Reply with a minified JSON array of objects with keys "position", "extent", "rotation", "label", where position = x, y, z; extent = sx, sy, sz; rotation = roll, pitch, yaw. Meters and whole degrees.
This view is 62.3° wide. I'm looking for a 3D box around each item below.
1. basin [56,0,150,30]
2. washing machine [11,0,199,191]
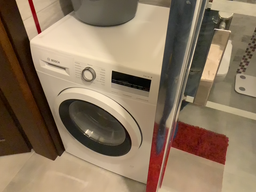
[{"position":[-0.100,-0.520,1.040],"extent":[0.300,0.170,0.410],"rotation":[19,47,18],"label":"basin"},{"position":[-0.050,-0.040,1.280],"extent":[0.620,0.840,0.690],"rotation":[17,47,16],"label":"washing machine"}]
